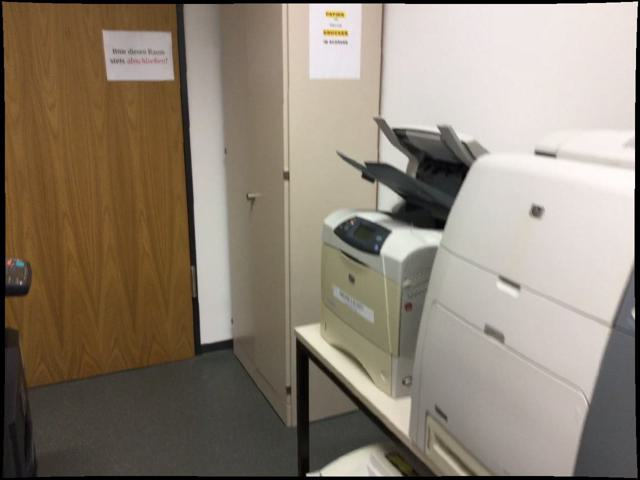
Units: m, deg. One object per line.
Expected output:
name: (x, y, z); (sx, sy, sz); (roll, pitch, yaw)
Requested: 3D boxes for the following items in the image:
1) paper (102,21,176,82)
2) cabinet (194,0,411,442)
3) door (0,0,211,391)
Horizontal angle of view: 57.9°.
paper: (-0.779, -0.811, 2.500); (0.290, 0.230, 0.080); (-5, 18, -26)
cabinet: (-0.160, -0.360, 2.530); (0.520, 2.082, 1.000); (-5, 18, -26)
door: (-1.029, -0.420, 2.500); (1.089, 2.142, 0.140); (-6, 19, -28)
